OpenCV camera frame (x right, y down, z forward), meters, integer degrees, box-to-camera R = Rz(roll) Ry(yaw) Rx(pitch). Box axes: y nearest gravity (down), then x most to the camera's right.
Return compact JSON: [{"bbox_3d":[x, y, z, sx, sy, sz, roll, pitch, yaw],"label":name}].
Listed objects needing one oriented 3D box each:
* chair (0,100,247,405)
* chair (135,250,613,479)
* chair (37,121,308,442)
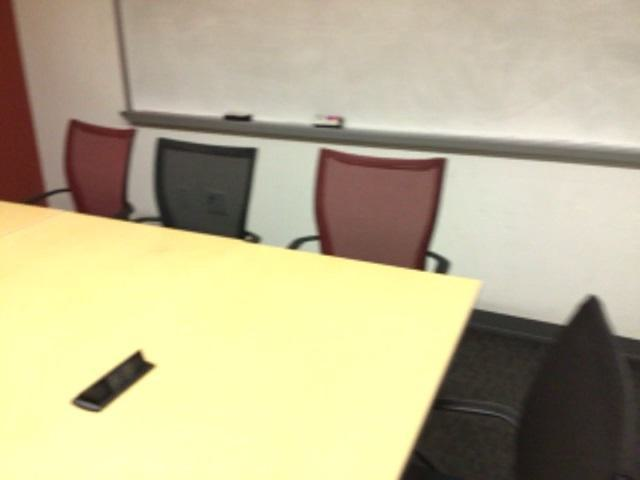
[{"bbox_3d":[-0.880,-0.030,2.400,0.840,0.960,0.670,12,26,33],"label":"chair"},{"bbox_3d":[0.150,0.570,1.060,0.550,0.880,0.600,9,24,27],"label":"chair"},{"bbox_3d":[-0.480,0.090,2.160,0.590,0.930,0.650,9,24,27],"label":"chair"}]
